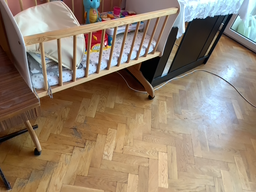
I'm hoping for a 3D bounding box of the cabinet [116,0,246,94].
[{"bbox_3d":[0.470,-0.630,1.970,0.940,0.810,0.520,-25,57,-32],"label":"cabinet"}]

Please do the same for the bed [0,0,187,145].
[{"bbox_3d":[-0.240,-0.320,1.360,0.930,0.800,0.540,-26,58,-33],"label":"bed"}]
